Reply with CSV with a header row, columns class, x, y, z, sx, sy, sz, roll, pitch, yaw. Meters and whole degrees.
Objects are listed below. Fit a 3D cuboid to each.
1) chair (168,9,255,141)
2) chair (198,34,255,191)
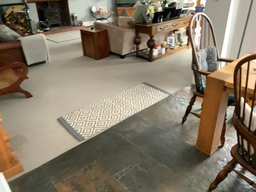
class,x,y,z,sx,sy,sz,roll,pitch,yaw
chair,0.860,-0.240,2.190,0.610,1.130,0.540,23,37,37
chair,0.940,0.250,1.300,0.580,1.140,0.600,-21,35,-32
